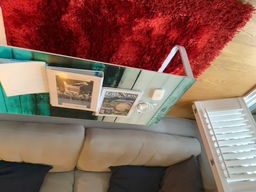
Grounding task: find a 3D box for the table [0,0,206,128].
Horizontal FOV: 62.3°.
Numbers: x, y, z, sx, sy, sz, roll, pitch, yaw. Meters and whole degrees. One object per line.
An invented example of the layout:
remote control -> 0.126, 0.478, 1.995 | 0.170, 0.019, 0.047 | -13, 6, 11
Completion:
table -> -0.200, -0.120, 1.300 | 1.080, 0.330, 0.600 | 7, 144, -17
